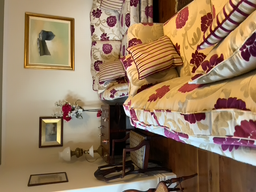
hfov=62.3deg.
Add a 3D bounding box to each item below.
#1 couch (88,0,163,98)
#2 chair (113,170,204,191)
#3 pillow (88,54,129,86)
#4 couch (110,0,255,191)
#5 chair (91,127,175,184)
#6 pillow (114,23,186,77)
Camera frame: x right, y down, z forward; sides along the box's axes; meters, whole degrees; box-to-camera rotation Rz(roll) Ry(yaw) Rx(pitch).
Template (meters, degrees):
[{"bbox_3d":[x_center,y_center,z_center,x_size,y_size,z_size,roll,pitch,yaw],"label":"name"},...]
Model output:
[{"bbox_3d":[-0.110,-1.000,3.440,1.020,0.900,2.030,171,98,-70],"label":"couch"},{"bbox_3d":[0.320,1.080,2.270,0.490,0.820,0.360,120,145,-54],"label":"chair"},{"bbox_3d":[-0.290,-0.390,3.200,0.470,0.390,0.200,47,118,33],"label":"pillow"},{"bbox_3d":[0.560,-0.270,1.480,1.860,0.920,1.100,180,90,-71],"label":"couch"},{"bbox_3d":[0.050,0.730,2.790,0.530,0.980,0.520,176,93,-71],"label":"chair"},{"bbox_3d":[0.190,-0.390,1.830,0.470,0.450,0.140,51,120,30],"label":"pillow"}]
